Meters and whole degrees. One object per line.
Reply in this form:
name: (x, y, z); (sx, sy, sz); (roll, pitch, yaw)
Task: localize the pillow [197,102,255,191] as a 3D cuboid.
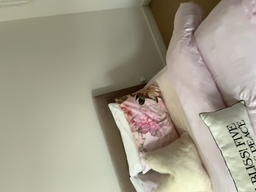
pillow: (0.580, 0.330, 1.090); (0.160, 0.190, 0.550); (136, 117, -66)

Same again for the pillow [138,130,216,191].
pillow: (0.380, 0.570, 1.640); (0.380, 0.440, 0.200); (44, 156, -1)

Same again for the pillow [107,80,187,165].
pillow: (0.160, 0.230, 1.870); (0.600, 0.410, 0.200); (59, 157, 7)
